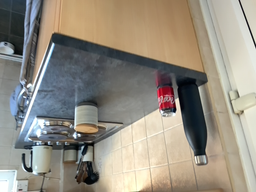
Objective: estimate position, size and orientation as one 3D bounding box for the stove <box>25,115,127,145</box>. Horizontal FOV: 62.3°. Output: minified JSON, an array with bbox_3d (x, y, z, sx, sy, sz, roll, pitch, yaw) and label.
[{"bbox_3d":[-0.390,0.260,1.470,0.530,0.030,0.620,8,154,-28],"label":"stove"}]
